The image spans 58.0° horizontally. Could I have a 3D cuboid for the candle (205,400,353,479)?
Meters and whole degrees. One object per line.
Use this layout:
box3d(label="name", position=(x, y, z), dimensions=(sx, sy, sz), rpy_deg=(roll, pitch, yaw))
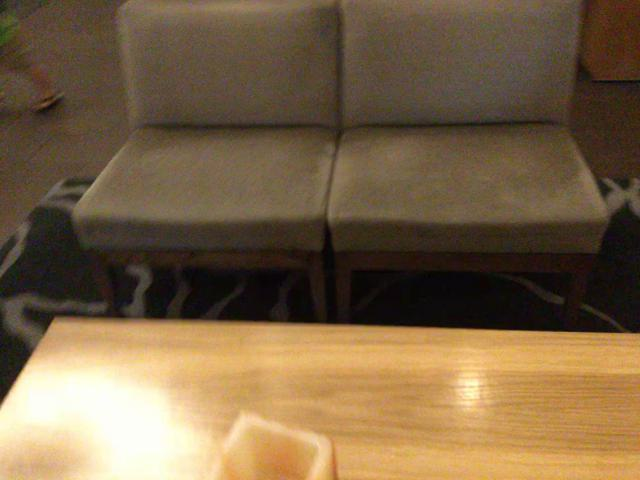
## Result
box3d(label="candle", position=(-0.050, 0.340, 0.800), dimensions=(0.180, 0.140, 0.170), rpy_deg=(1, 36, 6))

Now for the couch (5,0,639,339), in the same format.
box3d(label="couch", position=(0.060, -0.280, 1.800), dimensions=(1.480, 0.840, 0.730), rpy_deg=(1, 36, 6))
